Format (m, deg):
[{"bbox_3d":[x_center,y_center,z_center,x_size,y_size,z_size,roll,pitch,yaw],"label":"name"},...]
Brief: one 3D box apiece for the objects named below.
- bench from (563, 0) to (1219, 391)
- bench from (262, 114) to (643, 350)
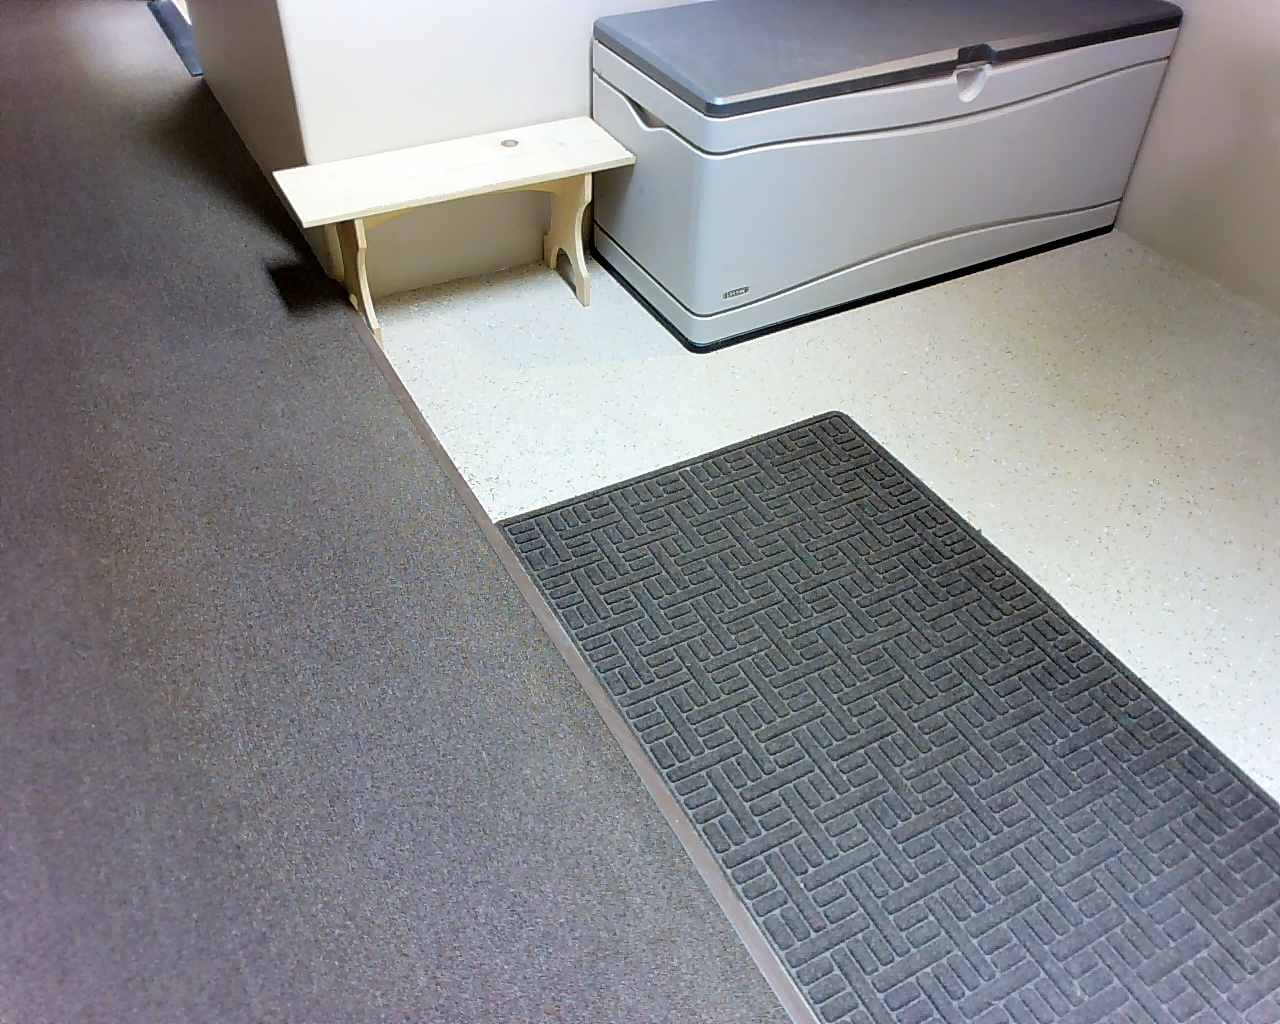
[{"bbox_3d":[0.660,-1.010,2.960,1.580,0.690,0.680,-20,46,-22],"label":"bench"},{"bbox_3d":[-0.450,-0.730,2.720,0.870,0.310,0.310,-19,46,-21],"label":"bench"}]
